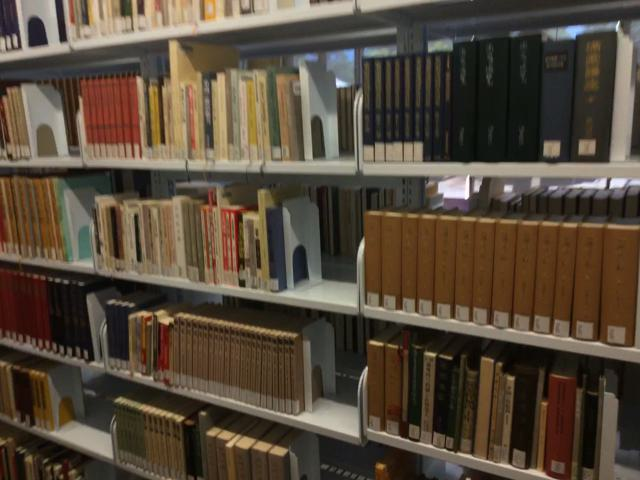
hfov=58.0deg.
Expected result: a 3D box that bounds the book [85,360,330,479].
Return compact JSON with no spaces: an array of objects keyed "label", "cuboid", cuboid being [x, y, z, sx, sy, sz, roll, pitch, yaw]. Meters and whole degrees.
[{"label":"book","cuboid":[-0.350,0.650,1.750,0.750,0.390,0.200,5,13,28]}]

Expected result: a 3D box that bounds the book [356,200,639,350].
[{"label":"book","cuboid":[0.370,0.050,1.210,0.570,0.220,0.170,5,13,28]}]

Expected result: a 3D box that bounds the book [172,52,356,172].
[{"label":"book","cuboid":[-0.130,-0.310,1.430,0.360,0.250,0.260,5,13,28]}]

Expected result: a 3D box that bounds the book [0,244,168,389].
[{"label":"book","cuboid":[-1.050,0.220,2.050,1.120,0.330,0.210,5,13,28]}]

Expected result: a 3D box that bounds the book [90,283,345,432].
[{"label":"book","cuboid":[-0.310,0.310,1.670,0.750,0.240,0.200,5,13,28]}]

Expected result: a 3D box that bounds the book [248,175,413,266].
[{"label":"book","cuboid":[0.020,-0.070,1.790,0.530,0.240,0.070,5,13,28]}]

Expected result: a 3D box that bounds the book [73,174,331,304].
[{"label":"book","cuboid":[-0.340,-0.030,1.620,0.720,0.270,0.220,5,13,28]}]

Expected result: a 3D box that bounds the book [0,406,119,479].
[{"label":"book","cuboid":[-1.060,0.860,2.200,0.650,0.270,0.160,5,13,28]}]

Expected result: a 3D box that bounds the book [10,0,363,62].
[{"label":"book","cuboid":[-0.390,-0.640,1.470,1.020,0.290,0.160,5,13,28]}]

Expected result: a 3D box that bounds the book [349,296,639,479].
[{"label":"book","cuboid":[0.390,0.390,1.310,0.600,0.400,0.240,5,13,28]}]

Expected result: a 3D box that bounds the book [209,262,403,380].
[{"label":"book","cuboid":[-0.050,0.240,1.860,0.590,0.240,0.210,5,13,28]}]
